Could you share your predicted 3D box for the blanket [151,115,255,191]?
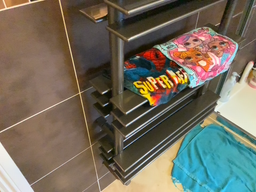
[{"bbox_3d":[0.600,0.460,1.250,0.550,0.030,0.740,-33,52,-31],"label":"blanket"}]
